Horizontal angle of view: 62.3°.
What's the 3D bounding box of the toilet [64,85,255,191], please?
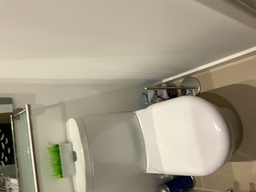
[{"bbox_3d":[0.210,0.210,1.090,0.630,0.810,0.370,-20,78,47],"label":"toilet"}]
